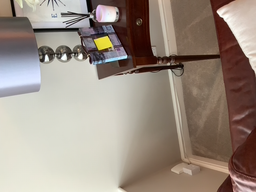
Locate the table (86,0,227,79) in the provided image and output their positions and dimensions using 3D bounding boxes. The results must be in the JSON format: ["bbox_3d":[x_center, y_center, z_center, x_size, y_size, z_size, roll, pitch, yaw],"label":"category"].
[{"bbox_3d":[0.170,-0.600,1.430,0.450,0.750,0.840,-7,93,59],"label":"table"}]
